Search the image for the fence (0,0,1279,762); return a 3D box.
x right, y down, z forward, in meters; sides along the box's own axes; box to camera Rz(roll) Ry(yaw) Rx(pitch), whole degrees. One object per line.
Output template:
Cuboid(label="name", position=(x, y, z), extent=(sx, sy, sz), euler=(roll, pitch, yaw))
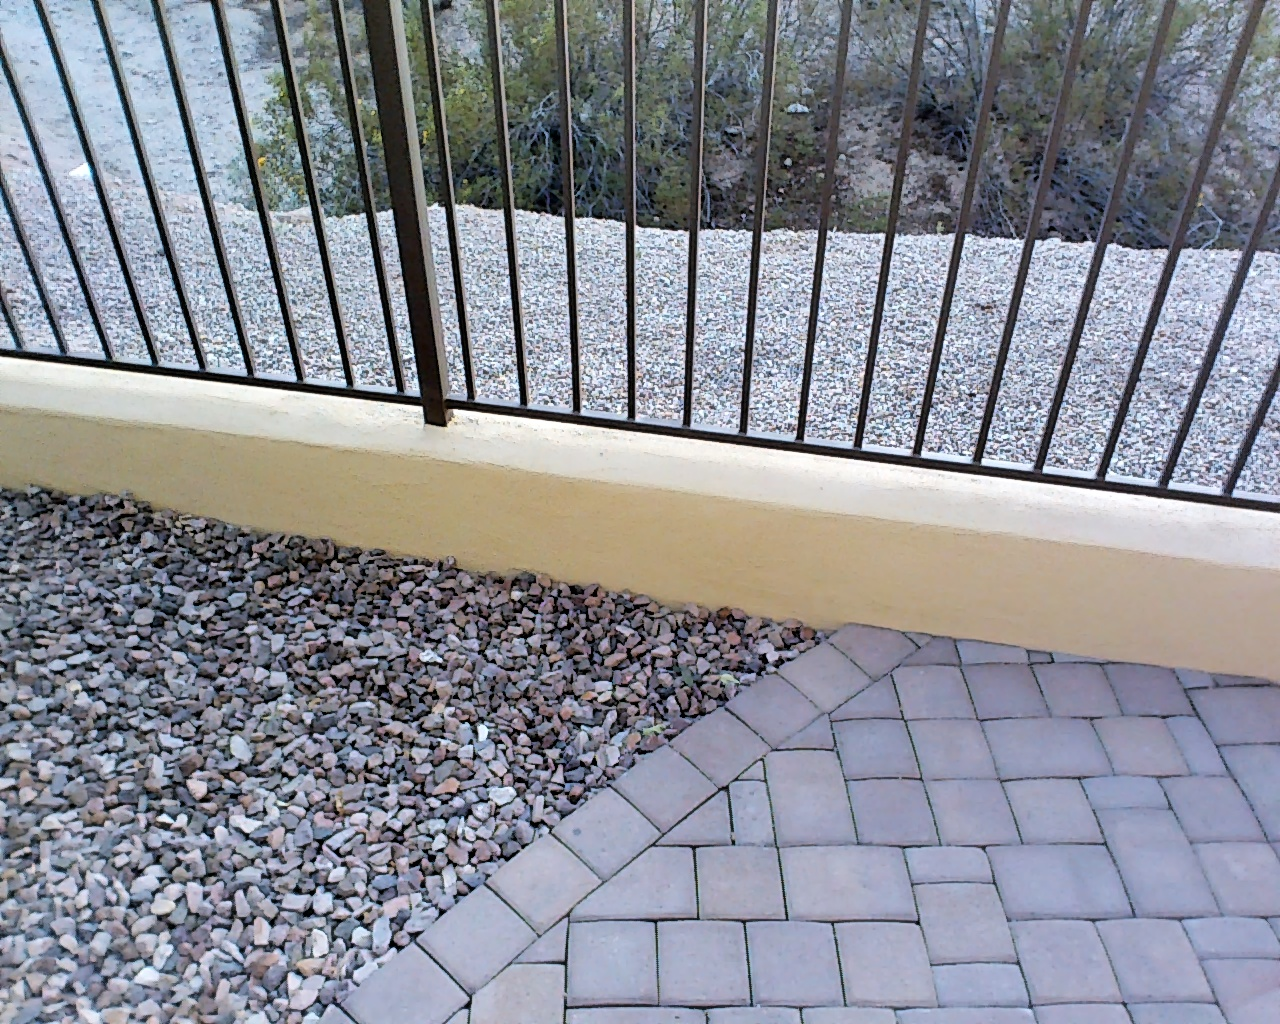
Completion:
Cuboid(label="fence", position=(-0.290, -0.610, 1.740), extent=(3.621, 1.860, 0.350), euler=(9, 40, 11))
